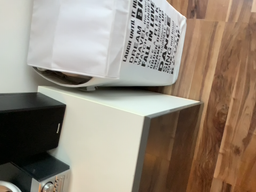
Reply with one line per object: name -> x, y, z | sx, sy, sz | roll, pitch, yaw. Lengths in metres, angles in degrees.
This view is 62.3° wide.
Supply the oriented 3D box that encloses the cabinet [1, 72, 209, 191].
cabinet -> -0.060, 0.270, 0.930 | 0.560, 0.640, 0.620 | 15, 99, 29
